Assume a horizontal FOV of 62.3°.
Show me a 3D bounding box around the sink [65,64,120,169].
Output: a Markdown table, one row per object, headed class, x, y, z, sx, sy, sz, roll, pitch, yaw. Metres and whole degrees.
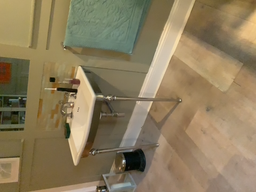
| class | x | y | z | sx | sy | sz | roll | pitch | yaw |
| --- | --- | --- | --- | --- | --- | --- | --- | --- | --- |
| sink | -0.330 | 0.160 | 1.750 | 0.500 | 0.190 | 0.680 | 53 | 132 | 49 |
